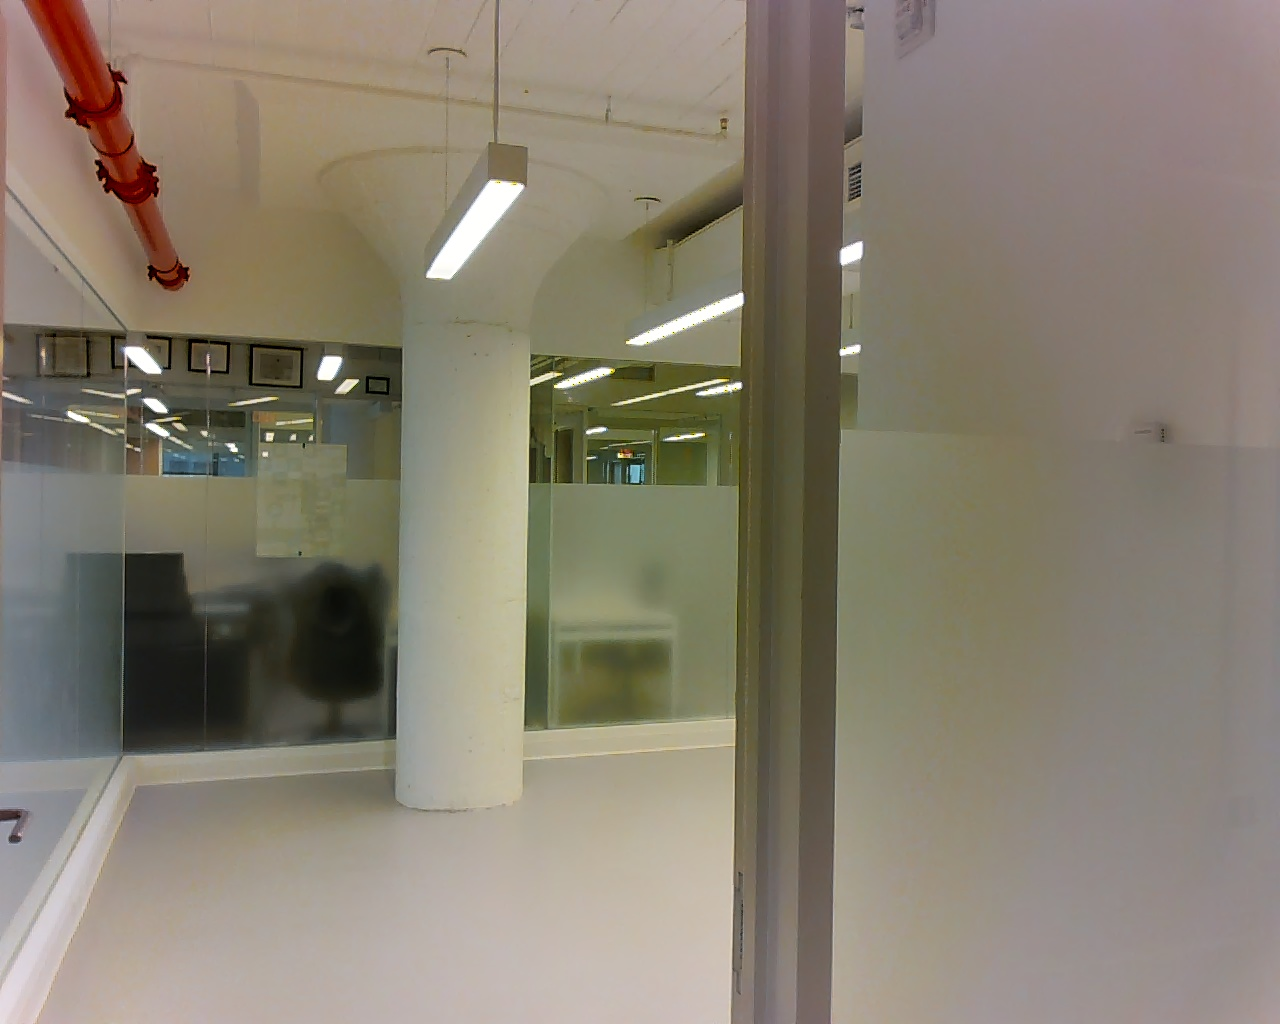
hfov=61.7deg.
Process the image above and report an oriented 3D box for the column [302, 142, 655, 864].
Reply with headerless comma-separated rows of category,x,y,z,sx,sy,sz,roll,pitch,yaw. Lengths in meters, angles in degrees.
column,-0.840,-0.030,5.170,1.410,2.921,1.280,1,0,-20
